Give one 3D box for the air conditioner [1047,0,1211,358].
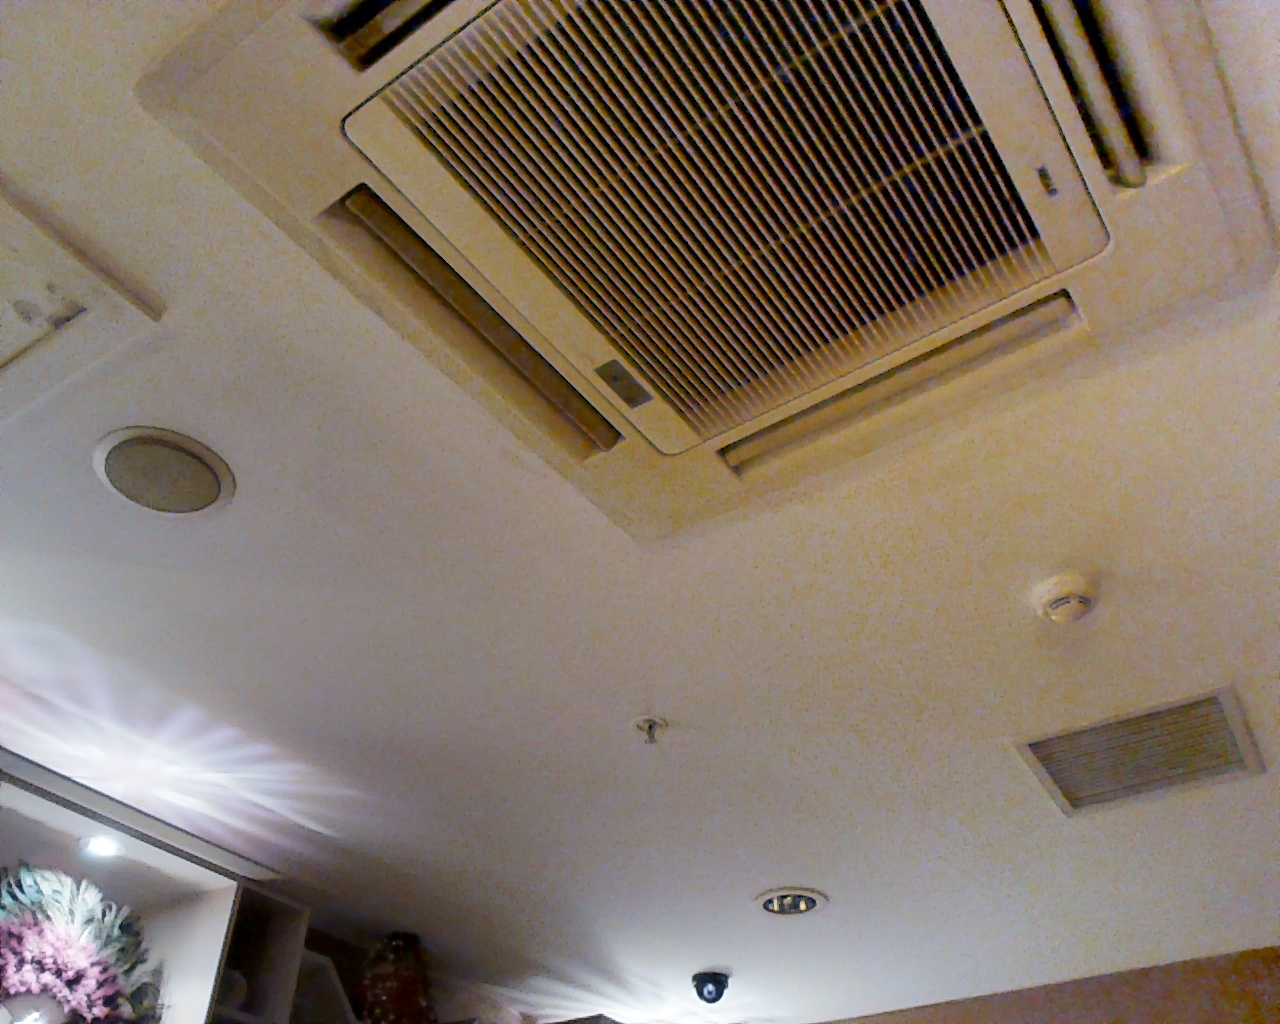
[{"bbox_3d":[0.480,-0.530,0.990,0.120,0.030,0.950,-24,-42,-7],"label":"air conditioner"}]
